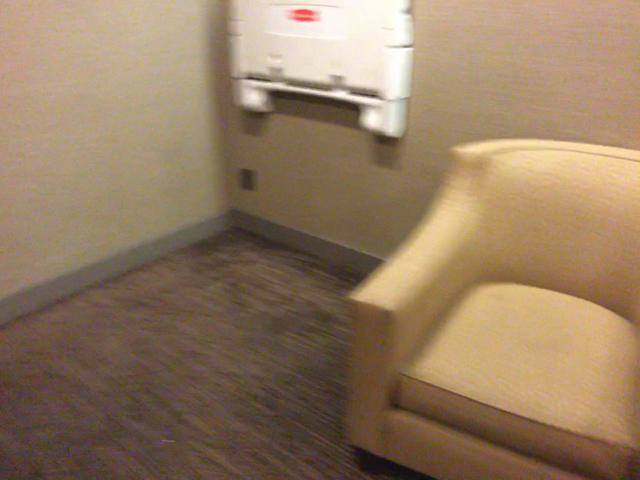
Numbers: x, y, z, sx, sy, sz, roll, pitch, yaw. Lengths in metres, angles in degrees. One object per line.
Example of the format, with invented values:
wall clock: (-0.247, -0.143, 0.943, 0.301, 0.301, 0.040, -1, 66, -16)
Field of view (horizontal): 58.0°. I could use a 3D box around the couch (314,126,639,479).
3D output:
couch: (0.660, 0.220, 1.660, 0.930, 0.860, 0.990, 15, 23, 29)
